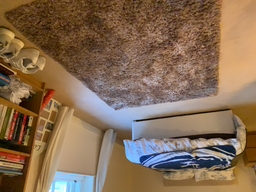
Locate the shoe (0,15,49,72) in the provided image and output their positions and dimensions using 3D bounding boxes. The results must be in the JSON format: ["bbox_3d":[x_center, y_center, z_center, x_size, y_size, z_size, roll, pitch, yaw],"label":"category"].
[{"bbox_3d":[-0.810,-0.340,1.490,0.230,0.100,0.460,-8,155,17],"label":"shoe"}]

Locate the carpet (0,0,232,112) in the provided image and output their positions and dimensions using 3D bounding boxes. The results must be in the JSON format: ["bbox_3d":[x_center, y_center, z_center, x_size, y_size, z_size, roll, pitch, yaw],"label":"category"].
[{"bbox_3d":[0.090,-0.260,1.820,1.340,0.080,1.780,-8,155,16],"label":"carpet"}]
